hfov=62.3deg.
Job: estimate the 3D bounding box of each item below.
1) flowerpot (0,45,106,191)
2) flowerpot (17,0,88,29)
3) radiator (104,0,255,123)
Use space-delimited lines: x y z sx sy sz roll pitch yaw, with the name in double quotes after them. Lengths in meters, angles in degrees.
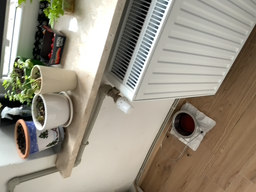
-0.390 0.040 0.830 0.470 0.340 0.280 45 123 33 "flowerpot"
-0.270 -0.360 0.750 0.210 0.160 0.140 45 123 33 "flowerpot"
0.330 -0.280 0.830 0.150 0.700 0.730 41 121 35 "radiator"
